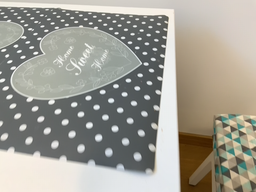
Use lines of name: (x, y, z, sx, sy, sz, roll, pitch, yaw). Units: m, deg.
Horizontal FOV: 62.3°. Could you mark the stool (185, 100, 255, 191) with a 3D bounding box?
stool: (0.420, 0.330, 0.730, 0.340, 0.510, 0.330, 7, 46, 7)
